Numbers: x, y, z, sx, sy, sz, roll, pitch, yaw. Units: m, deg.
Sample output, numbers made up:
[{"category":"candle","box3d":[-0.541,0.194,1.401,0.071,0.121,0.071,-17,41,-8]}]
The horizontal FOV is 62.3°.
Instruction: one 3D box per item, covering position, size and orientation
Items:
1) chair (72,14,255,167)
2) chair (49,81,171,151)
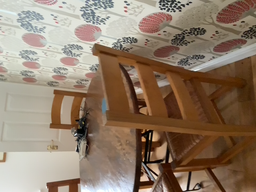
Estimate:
[{"category":"chair","box3d":[0.270,0.030,1.170,0.540,1.010,0.430,-62,33,38]},{"category":"chair","box3d":[-0.190,0.190,2.070,0.510,1.020,0.460,33,114,62]}]
